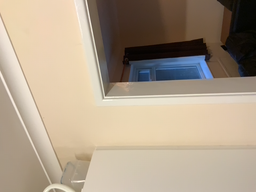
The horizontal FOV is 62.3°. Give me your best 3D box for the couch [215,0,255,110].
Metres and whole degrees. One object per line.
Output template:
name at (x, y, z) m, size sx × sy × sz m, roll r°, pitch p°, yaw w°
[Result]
couch at (1.600, -0.610, 2.350) m, size 1.520 × 0.750 × 0.820 m, roll -81°, pitch -13°, yaw -58°
